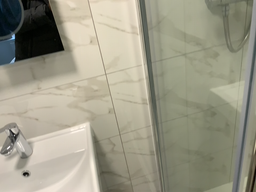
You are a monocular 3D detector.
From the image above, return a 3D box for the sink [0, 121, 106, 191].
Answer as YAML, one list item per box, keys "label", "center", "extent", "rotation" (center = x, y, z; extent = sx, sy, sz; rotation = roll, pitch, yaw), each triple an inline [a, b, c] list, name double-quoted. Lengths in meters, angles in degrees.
- label: "sink"
  center: [-0.340, 0.330, 0.700]
  extent: [0.510, 0.160, 0.420]
  rotation: [-14, 30, -8]
